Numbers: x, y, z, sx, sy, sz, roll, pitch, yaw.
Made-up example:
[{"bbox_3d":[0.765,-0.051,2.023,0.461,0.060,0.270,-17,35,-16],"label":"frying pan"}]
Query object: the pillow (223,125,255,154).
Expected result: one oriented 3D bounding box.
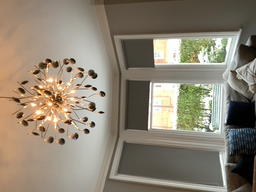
[{"bbox_3d":[1.820,0.700,3.400,0.200,0.400,0.390,89,176,-64],"label":"pillow"}]
